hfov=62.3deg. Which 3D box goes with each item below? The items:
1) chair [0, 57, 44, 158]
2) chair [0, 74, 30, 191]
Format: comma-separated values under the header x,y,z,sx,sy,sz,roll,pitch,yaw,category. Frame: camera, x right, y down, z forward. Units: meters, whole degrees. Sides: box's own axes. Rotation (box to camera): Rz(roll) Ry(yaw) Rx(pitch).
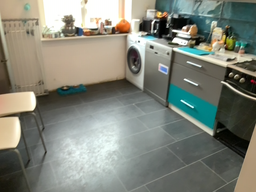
x,y,z,sx,sy,sz,roll,pitch,yaw,category
-1.160,0.100,2.050,0.530,0.820,0.460,-8,28,-20,chair
-1.080,0.330,1.570,0.510,0.820,0.470,-8,28,-20,chair
